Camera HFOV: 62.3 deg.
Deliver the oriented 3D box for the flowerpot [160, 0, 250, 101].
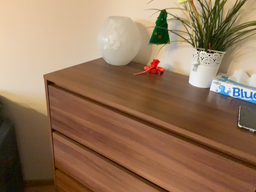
[{"bbox_3d":[0.290,-0.230,0.800,0.210,0.410,0.190,21,30,28],"label":"flowerpot"}]
